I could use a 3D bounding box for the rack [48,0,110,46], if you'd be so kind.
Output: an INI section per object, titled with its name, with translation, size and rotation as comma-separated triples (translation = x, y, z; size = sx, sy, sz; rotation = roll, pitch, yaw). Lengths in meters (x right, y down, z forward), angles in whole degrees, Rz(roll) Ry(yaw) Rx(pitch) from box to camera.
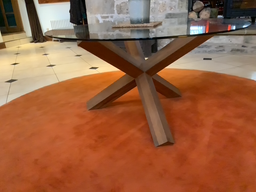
[rack]
translation = -1.250, -2.360, 5.440
size = 1.070, 1.940, 1.020
rotation = 7, 25, 21
